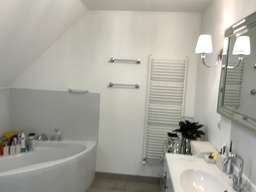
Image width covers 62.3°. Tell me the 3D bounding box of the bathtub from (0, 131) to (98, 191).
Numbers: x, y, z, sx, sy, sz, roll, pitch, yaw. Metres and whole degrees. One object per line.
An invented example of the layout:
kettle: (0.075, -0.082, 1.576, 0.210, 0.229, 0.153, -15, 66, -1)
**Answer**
bathtub: (-1.210, 0.930, 2.620, 1.370, 0.550, 1.350, 4, 6, 4)
